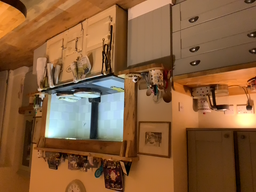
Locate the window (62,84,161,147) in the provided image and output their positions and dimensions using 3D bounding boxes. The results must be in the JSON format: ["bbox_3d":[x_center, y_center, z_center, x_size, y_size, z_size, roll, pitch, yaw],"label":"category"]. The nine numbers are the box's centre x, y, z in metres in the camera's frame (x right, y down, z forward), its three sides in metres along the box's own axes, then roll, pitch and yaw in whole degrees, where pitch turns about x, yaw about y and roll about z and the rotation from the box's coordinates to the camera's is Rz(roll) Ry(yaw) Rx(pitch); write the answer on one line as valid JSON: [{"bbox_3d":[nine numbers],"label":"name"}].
[{"bbox_3d":[-0.350,0.320,3.190,1.790,0.750,0.210,-7,168,38],"label":"window"}]

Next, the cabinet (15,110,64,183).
[{"bbox_3d":[-1.710,0.910,4.080,1.010,1.220,0.350,-7,168,40],"label":"cabinet"}]
